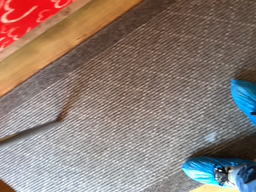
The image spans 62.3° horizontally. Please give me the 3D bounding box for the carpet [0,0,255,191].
[{"bbox_3d":[0.030,0.070,0.920,2.820,0.050,0.880,-30,87,9],"label":"carpet"}]
